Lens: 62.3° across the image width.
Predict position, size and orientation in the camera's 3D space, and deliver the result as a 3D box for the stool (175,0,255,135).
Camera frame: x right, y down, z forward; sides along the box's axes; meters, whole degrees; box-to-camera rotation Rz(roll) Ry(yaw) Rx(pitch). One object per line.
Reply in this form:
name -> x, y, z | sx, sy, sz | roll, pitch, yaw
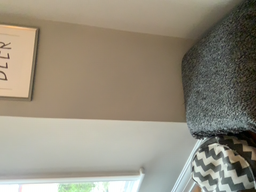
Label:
stool -> 0.690, -0.160, 1.440 | 0.630, 0.450, 0.790 | 139, 133, -70
